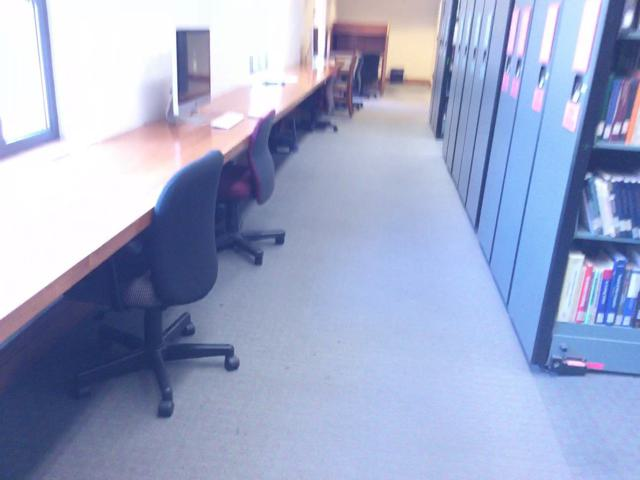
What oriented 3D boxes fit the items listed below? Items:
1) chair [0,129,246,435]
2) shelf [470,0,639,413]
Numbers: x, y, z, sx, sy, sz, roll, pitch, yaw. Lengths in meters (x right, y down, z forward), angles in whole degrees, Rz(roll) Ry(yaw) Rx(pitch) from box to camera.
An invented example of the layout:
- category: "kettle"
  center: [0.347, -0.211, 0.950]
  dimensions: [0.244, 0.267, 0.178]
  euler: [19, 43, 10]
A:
- category: "chair"
  center: [-0.660, 0.110, 2.180]
  dimensions: [0.610, 0.910, 0.660]
  euler: [5, 20, 6]
- category: "shelf"
  center: [1.360, -0.750, 2.730]
  dimensions: [0.780, 2.410, 1.790]
  euler: [5, 20, 6]
